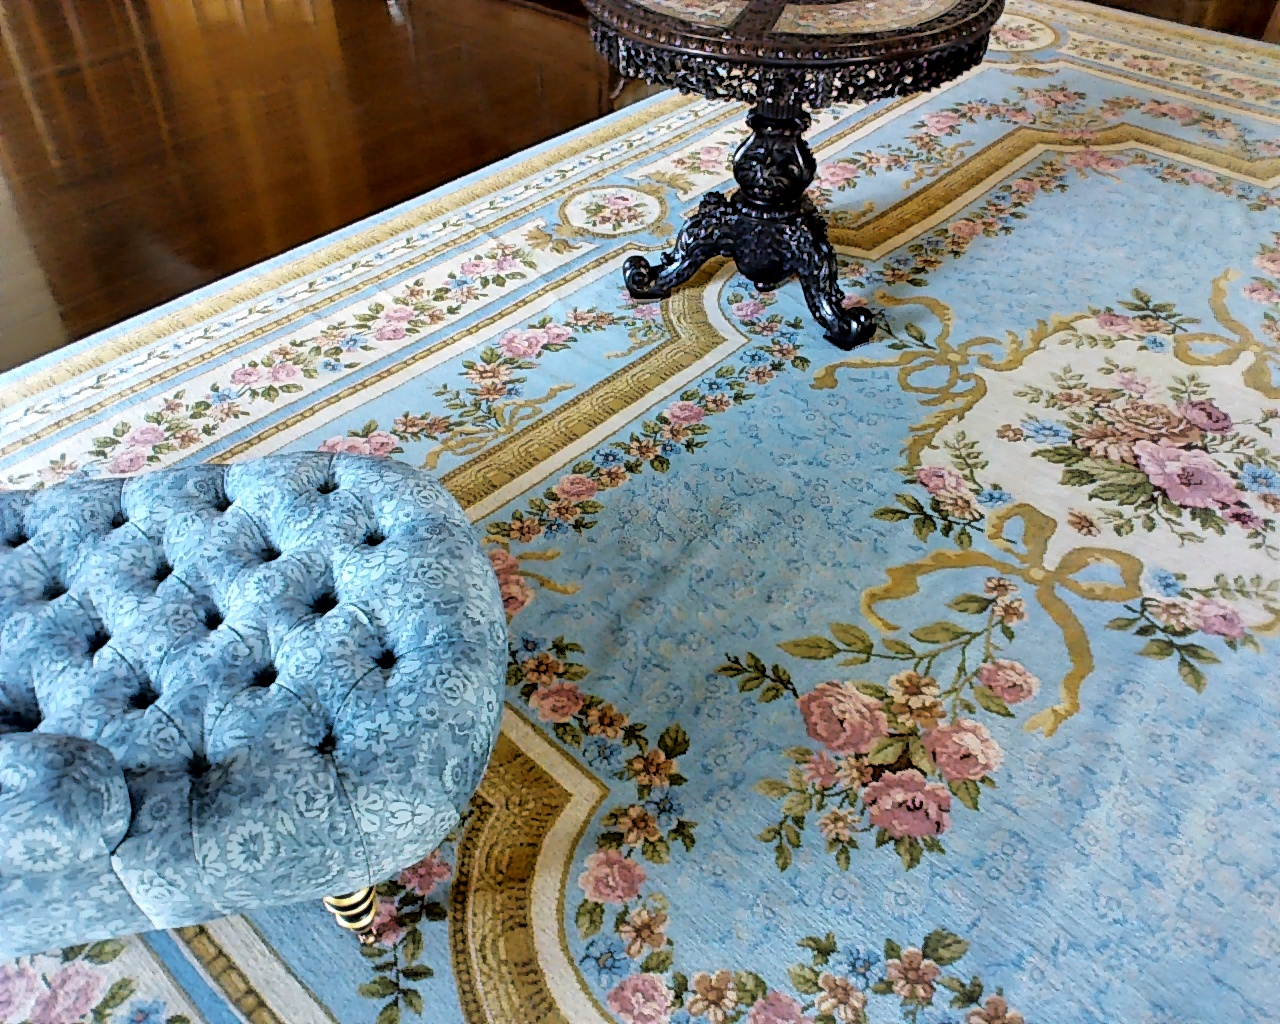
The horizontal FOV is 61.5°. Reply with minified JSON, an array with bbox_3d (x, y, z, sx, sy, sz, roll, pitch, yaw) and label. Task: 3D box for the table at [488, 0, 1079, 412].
[{"bbox_3d":[0.350,-1.010,2.790,1.020,0.800,1.000,32,51,31],"label":"table"}]
